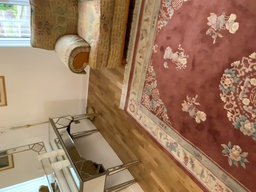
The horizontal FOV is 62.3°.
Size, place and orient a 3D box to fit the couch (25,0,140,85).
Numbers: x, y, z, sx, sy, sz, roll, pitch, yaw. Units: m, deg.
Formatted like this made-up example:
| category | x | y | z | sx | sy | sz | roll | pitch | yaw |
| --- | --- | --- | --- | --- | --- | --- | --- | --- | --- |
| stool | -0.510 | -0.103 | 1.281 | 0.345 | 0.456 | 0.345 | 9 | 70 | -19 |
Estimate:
| category | x | y | z | sx | sy | sz | roll | pitch | yaw |
| --- | --- | --- | --- | --- | --- | --- | --- | --- | --- |
| couch | -0.570 | -0.850 | 2.380 | 1.050 | 0.890 | 1.040 | 38 | 128 | 47 |
